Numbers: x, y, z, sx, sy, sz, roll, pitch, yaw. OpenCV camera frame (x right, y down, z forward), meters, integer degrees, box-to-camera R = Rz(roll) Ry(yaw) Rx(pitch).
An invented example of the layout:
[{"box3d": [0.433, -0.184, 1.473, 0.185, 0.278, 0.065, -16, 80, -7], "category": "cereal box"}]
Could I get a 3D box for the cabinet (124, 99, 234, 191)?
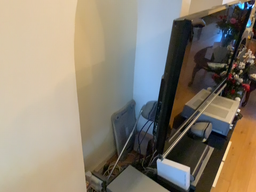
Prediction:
[{"box3d": [0.520, 0.470, 1.950, 0.560, 0.280, 1.100, 21, 36, 28], "category": "cabinet"}]
